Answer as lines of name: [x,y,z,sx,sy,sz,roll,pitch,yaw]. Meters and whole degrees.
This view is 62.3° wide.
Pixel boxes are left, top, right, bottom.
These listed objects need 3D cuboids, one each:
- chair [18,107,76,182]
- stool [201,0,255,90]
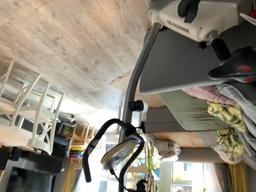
chair: [-1.430,0.900,3.930,0.610,1.160,0.580,10,152,-4]
stool: [0.590,-0.450,1.260,0.220,0.790,0.200,-16,144,38]
